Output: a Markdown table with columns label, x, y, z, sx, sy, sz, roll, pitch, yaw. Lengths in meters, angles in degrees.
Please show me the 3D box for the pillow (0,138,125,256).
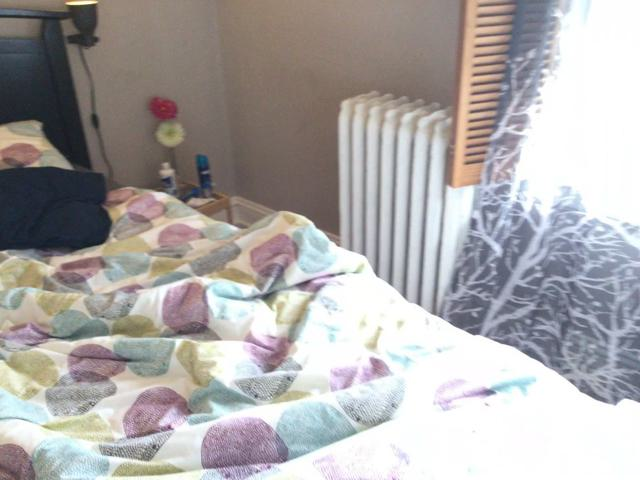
| label | x | y | z | sx | sy | sz | roll | pitch | yaw |
| --- | --- | --- | --- | --- | --- | --- | --- | --- | --- |
| pillow | -0.940 | -0.110 | 1.650 | 0.640 | 0.160 | 0.410 | -15 | 30 | -24 |
